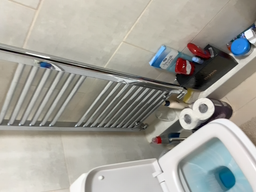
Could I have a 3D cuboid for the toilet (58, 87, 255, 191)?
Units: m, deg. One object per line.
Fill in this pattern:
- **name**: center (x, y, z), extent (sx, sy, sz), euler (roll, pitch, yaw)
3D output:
- **toilet**: center (0.250, 0.380, 0.890), extent (0.630, 0.810, 0.410), euler (-48, 50, 33)
